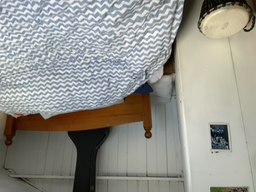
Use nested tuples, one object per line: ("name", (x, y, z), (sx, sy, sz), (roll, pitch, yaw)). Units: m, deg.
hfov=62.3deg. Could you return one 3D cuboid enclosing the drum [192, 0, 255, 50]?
("drum", (0.540, -0.570, 1.180), (0.300, 0.480, 0.330), (-4, 161, 11))
